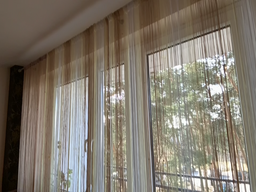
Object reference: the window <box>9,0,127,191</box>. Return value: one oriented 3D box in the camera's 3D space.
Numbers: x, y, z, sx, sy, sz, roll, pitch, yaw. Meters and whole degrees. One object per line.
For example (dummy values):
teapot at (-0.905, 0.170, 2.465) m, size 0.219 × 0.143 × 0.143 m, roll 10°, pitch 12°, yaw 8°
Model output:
window at (-0.730, 0.200, 2.040) m, size 0.110 × 1.630 × 1.910 m, roll 9°, pitch -14°, yaw -44°
